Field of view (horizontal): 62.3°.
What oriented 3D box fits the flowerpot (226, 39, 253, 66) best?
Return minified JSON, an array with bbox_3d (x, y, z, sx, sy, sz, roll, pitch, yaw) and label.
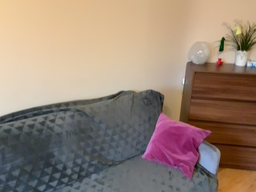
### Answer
[{"bbox_3d":[1.120,-0.440,2.140,0.160,0.250,0.130,5,20,8],"label":"flowerpot"}]
